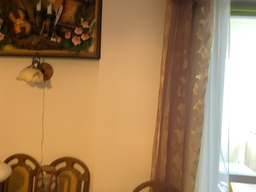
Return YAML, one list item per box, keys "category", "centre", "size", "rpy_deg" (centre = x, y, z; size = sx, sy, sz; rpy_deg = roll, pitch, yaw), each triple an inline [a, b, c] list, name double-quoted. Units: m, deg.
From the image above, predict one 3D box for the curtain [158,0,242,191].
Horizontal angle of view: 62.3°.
- category: "curtain"
  centre: [0.460, 0.460, 1.540]
  size: [0.430, 2.750, 0.380]
  rpy_deg: [3, 1, 7]
